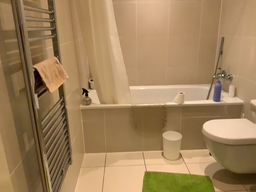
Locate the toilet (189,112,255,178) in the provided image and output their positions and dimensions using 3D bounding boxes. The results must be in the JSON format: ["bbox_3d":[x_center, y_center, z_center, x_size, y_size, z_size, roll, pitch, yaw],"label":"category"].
[{"bbox_3d":[0.890,0.410,1.850,0.580,0.410,0.380,-1,18,-1],"label":"toilet"}]

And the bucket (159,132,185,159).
[{"bbox_3d":[0.450,0.510,2.200,0.230,0.220,0.170,0,18,2],"label":"bucket"}]
